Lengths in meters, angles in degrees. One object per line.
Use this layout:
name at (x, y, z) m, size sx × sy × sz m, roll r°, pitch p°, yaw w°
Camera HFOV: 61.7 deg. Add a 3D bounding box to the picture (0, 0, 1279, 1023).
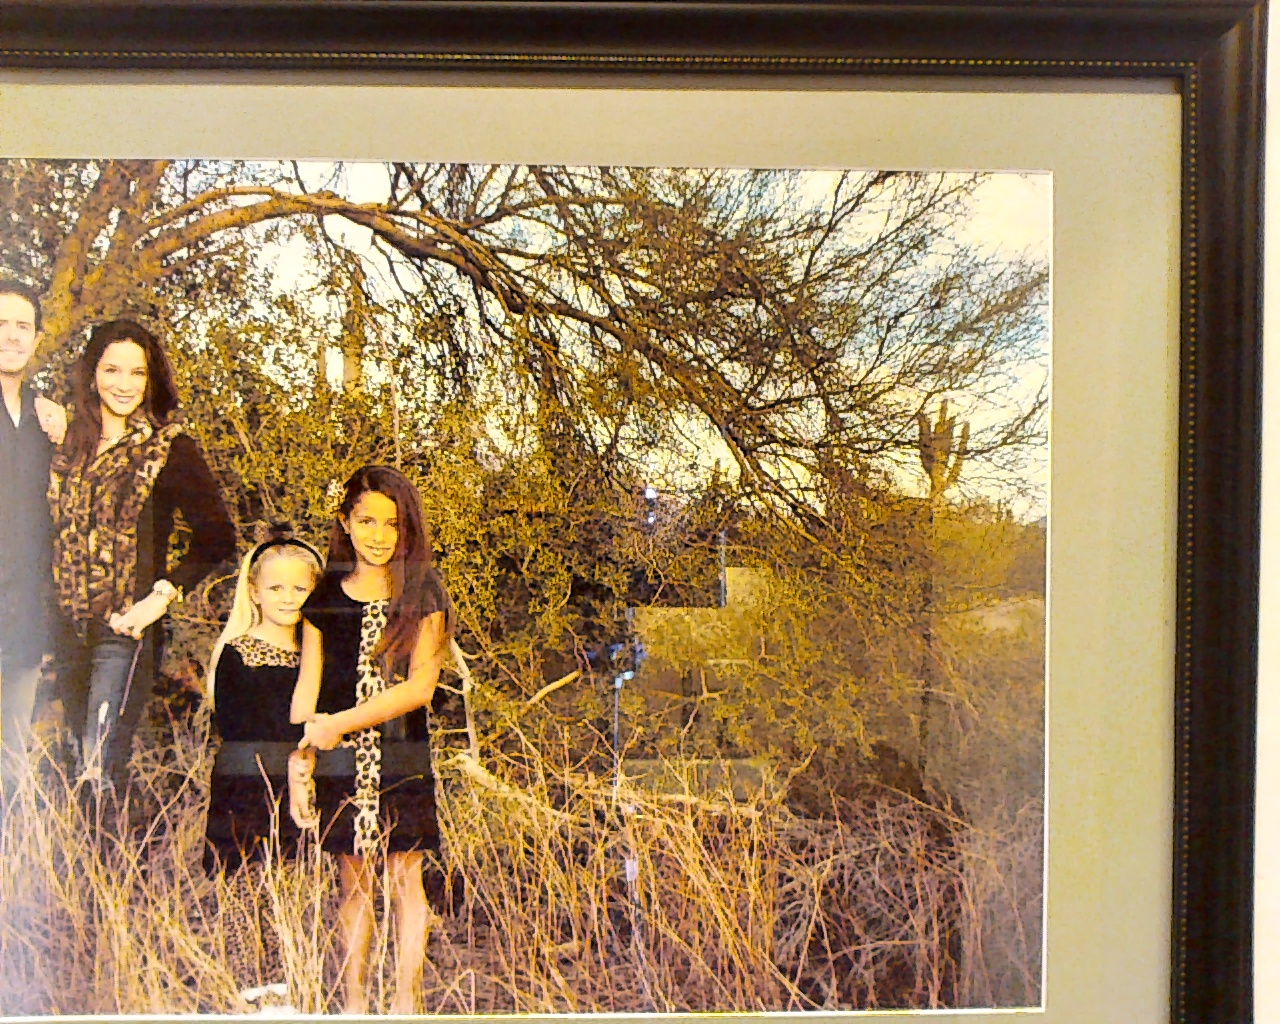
picture at (-0.150, 0.040, 0.620) m, size 1.020 × 0.700 × 0.040 m, roll 1°, pitch 0°, yaw -1°
